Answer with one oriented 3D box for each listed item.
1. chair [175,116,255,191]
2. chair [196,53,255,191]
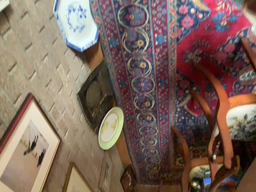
[{"bbox_3d":[0.720,0.640,1.920,0.530,0.810,0.440,-1,136,9],"label":"chair"},{"bbox_3d":[0.790,0.150,1.380,0.530,0.830,0.440,-1,136,9],"label":"chair"}]
